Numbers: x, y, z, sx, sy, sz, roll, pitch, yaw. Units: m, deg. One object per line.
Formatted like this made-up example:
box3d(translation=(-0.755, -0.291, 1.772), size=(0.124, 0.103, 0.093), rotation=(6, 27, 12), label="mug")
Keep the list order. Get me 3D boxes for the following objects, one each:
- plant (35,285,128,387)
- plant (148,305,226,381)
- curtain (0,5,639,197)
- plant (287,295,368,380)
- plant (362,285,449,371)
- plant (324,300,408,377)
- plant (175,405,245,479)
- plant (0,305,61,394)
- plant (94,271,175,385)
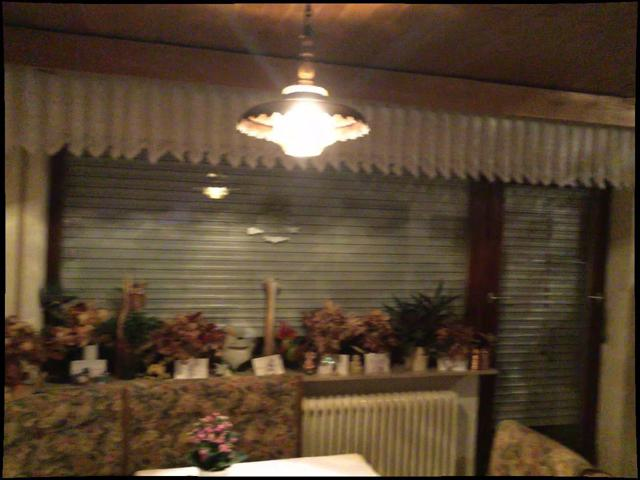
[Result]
box3d(translation=(-1.169, 0.460, 2.870), size=(0.370, 0.430, 0.350), rotation=(2, 2, -14), label="plant")
box3d(translation=(-0.689, 0.521, 2.990), size=(0.360, 0.320, 0.320), rotation=(2, 2, -14), label="plant")
box3d(translation=(0.450, -0.621, 3.050), size=(4.056, 0.611, 0.360), rotation=(2, 2, -14), label="curtain")
box3d(translation=(0.030, 0.521, 3.170), size=(0.350, 0.390, 0.360), rotation=(2, 2, -14), label="plant")
box3d(translation=(0.480, 0.490, 3.310), size=(0.370, 0.420, 0.350), rotation=(2, 2, -14), label="plant")
box3d(translation=(0.250, 0.541, 3.240), size=(0.370, 0.360, 0.330), rotation=(2, 2, -14), label="plant")
box3d(translation=(-0.370, 0.701, 1.920), size=(0.210, 0.240, 0.180), rotation=(2, 2, -15), label="plant")
box3d(translation=(-1.369, 0.470, 2.580), size=(0.310, 0.290, 0.480), rotation=(2, 2, -15), label="plant")
box3d(translation=(-0.929, 0.430, 2.930), size=(0.360, 0.511, 0.310), rotation=(2, 2, -14), label="plant")
